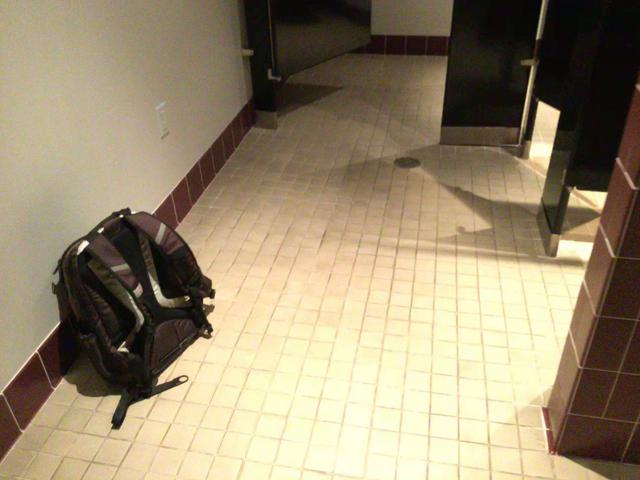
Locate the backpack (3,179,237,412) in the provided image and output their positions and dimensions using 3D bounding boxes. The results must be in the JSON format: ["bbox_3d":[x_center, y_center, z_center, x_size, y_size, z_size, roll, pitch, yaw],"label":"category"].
[{"bbox_3d":[-0.550,0.140,1.720,0.370,0.450,0.450,10,35,21],"label":"backpack"}]
